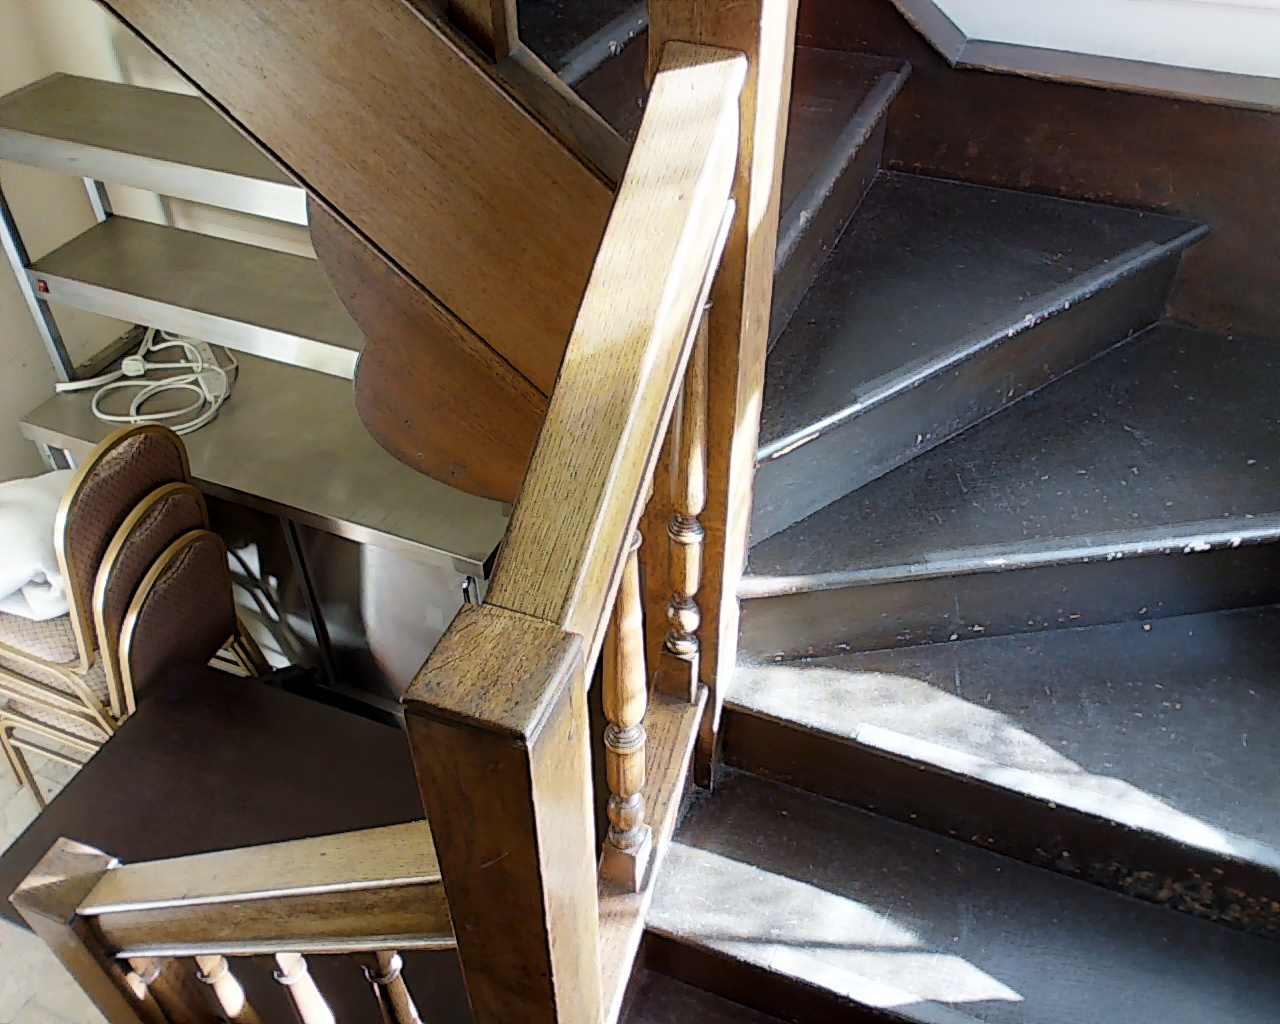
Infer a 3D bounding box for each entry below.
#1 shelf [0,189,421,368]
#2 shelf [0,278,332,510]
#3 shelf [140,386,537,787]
[{"bbox_3d":[-0.990,-0.550,2.460,0.870,0.100,0.390,11,44,12],"label":"shelf"},{"bbox_3d":[-1.240,-0.320,2.690,0.750,0.160,0.480,18,45,18],"label":"shelf"},{"bbox_3d":[-0.680,0.190,2.660,0.690,0.770,0.460,11,43,11],"label":"shelf"}]
